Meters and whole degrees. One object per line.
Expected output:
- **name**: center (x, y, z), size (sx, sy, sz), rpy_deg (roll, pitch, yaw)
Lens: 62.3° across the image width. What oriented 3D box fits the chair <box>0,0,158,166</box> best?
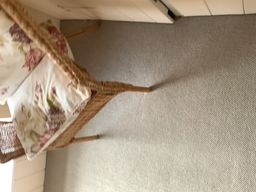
- **chair**: center (-0.380, -0.120, 1.040), size (0.590, 0.780, 0.560), rpy_deg (-45, 70, 23)
